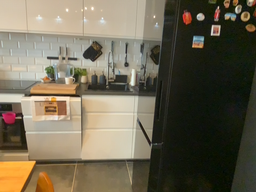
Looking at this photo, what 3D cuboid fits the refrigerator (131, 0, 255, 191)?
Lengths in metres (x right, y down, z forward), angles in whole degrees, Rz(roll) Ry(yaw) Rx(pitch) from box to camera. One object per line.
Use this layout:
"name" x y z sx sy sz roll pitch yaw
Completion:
"refrigerator" 0.470 0.070 1.730 0.680 2.010 0.650 1 14 -9
